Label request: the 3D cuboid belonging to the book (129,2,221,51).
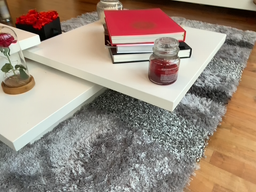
[{"bbox_3d":[0.170,-0.310,0.900,0.290,0.100,0.310,-5,36,-7],"label":"book"}]
